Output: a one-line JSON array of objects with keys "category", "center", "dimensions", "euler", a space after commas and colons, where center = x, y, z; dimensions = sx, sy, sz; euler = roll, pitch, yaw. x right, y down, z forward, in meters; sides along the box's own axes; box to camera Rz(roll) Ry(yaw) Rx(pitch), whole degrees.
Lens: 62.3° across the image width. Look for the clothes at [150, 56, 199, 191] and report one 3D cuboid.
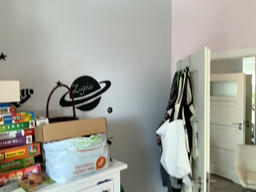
[{"category": "clothes", "center": [0.390, 0.250, 1.890], "dimensions": [0.350, 1.100, 0.650], "euler": [0, 2, 9]}]
